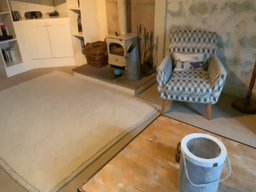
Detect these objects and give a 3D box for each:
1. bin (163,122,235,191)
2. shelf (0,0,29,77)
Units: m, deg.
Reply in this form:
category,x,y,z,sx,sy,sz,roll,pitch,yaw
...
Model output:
category,x,y,z,sx,sy,sz,roll,pitch,yaw
bin,0.390,0.380,1.190,0.260,0.300,0.270,20,36,33
shelf,-2.220,-1.350,3.580,0.390,1.980,0.410,19,35,32
